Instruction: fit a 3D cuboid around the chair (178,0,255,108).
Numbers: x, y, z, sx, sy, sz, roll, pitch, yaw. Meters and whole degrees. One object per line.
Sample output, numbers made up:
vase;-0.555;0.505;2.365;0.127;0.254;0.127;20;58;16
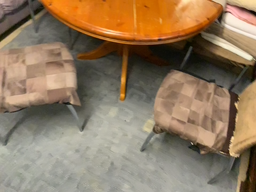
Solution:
chair;0.760;-0.490;1.500;0.430;0.980;0.620;19;55;7

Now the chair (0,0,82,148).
chair;-0.600;-0.170;1.110;0.580;0.990;0.460;-8;56;-12

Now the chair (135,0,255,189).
chair;0.440;0.040;1.090;0.590;0.970;0.420;22;56;9
